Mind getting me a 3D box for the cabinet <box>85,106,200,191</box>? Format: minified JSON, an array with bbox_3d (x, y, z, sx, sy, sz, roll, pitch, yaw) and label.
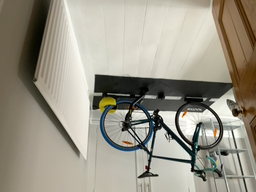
[{"bbox_3d":[0.240,1.660,2.880,1.630,3.070,0.310,6,152,-15],"label":"cabinet"}]
